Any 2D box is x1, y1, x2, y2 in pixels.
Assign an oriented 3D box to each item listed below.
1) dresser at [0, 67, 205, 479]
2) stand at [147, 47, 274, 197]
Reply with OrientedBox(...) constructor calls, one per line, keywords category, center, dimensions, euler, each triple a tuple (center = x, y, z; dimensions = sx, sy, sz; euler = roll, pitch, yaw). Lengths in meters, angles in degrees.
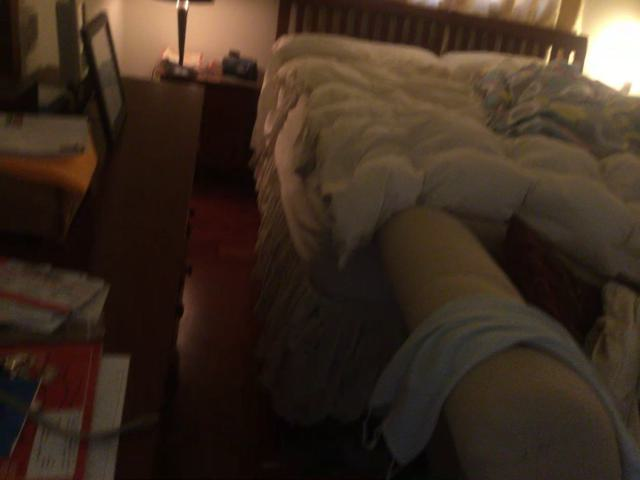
OrientedBox(category="dresser", center=(-0.520, 0.250, 1.200), dimensions=(0.480, 0.870, 1.610), euler=(4, 25, -12))
OrientedBox(category="stand", center=(-0.590, -0.630, 3.080), dimensions=(0.580, 0.630, 0.460), euler=(4, 25, -12))
